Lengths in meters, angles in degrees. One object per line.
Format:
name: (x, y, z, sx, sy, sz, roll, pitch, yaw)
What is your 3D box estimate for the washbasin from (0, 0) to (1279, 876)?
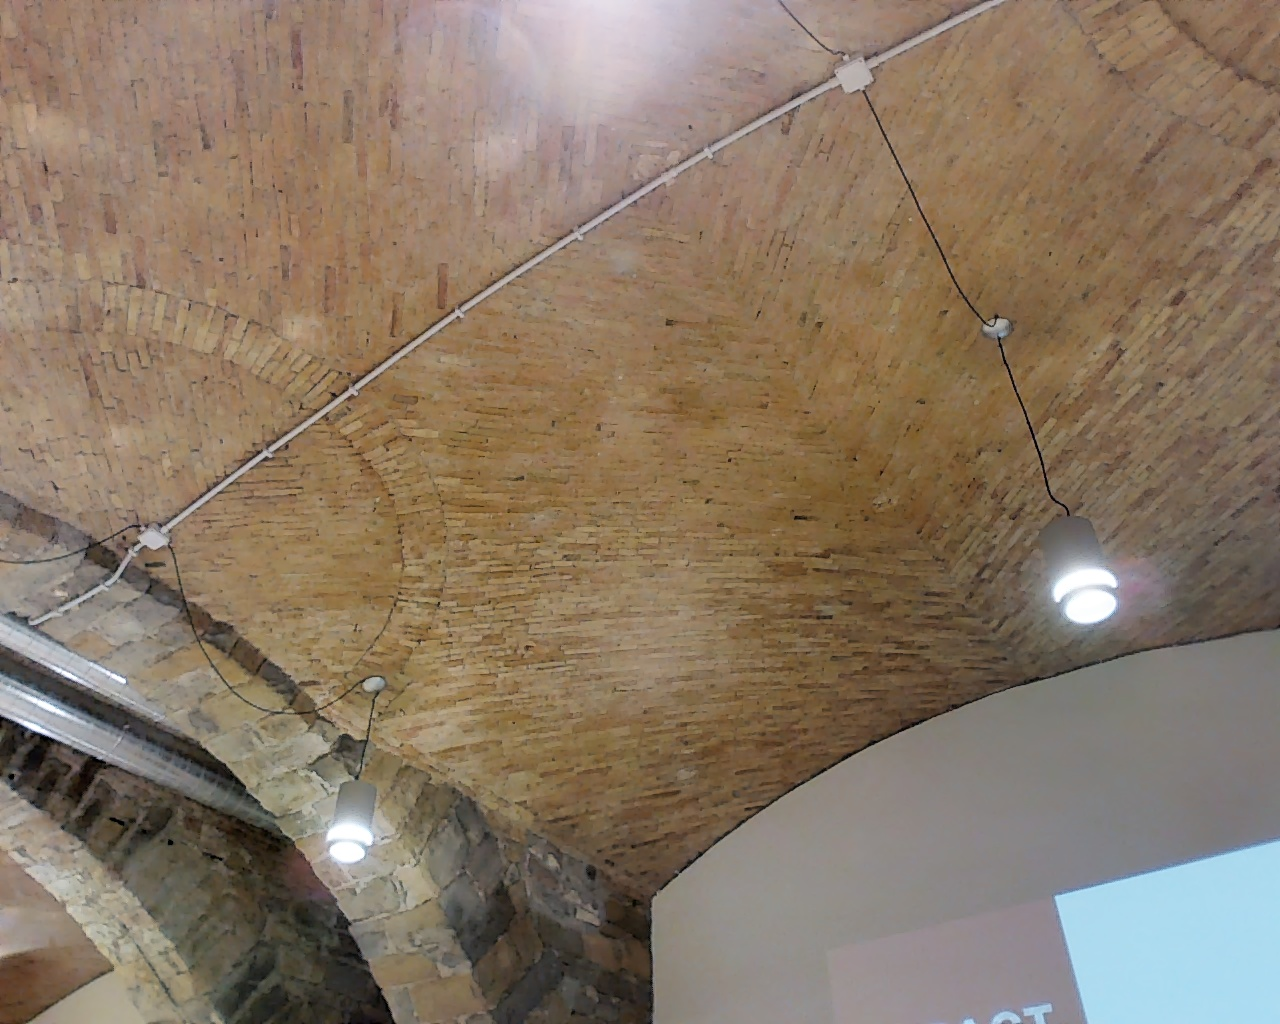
washbasin: (-0.370, -1.921, 3.190, 9.348, 0.910, 9.290, -23, -46, 24)
